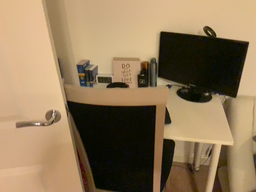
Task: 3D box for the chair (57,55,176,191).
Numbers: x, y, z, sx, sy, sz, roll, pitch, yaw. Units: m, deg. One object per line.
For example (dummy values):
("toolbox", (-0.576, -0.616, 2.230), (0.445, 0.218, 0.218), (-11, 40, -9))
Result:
("chair", (0.010, 0.340, 1.190), (0.430, 1.030, 0.460), (2, 28, 9))
